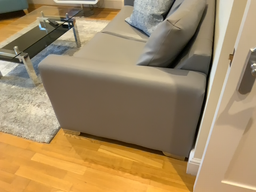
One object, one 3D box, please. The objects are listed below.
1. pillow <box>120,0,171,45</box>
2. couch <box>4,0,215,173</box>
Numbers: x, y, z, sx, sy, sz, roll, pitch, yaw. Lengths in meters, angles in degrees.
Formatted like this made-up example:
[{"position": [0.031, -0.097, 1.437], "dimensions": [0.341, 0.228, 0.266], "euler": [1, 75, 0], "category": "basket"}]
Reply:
[{"position": [0.130, -0.770, 1.890], "dimensions": [0.110, 0.440, 0.420], "euler": [-9, 55, -31], "category": "pillow"}, {"position": [0.130, -0.460, 1.850], "dimensions": [1.000, 0.870, 1.730], "euler": [11, 42, 15], "category": "couch"}]
